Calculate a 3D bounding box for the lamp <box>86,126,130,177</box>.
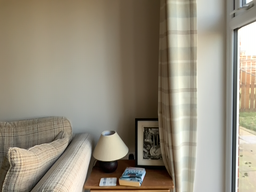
[{"bbox_3d":[-0.130,0.390,1.570,0.280,0.260,0.360,-1,4,1],"label":"lamp"}]
